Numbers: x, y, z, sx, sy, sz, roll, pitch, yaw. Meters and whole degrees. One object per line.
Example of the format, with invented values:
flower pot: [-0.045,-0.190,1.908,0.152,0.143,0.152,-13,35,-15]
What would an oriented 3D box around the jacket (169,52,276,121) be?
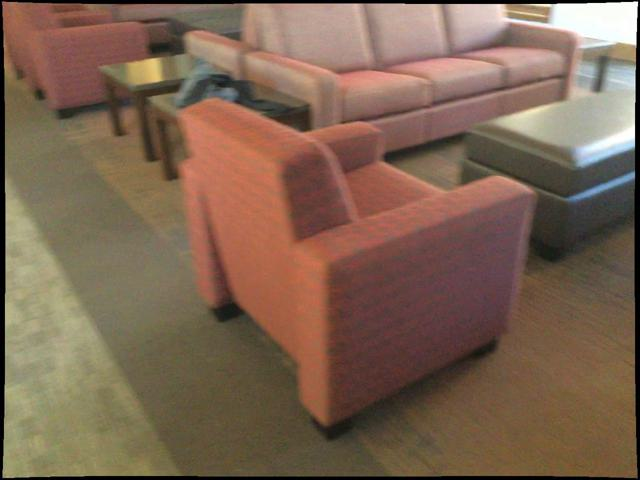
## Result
jacket: [-0.480,-0.771,2.860,0.390,0.180,0.370,-19,38,-28]
